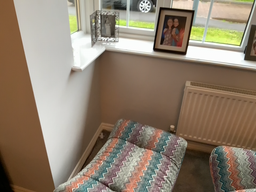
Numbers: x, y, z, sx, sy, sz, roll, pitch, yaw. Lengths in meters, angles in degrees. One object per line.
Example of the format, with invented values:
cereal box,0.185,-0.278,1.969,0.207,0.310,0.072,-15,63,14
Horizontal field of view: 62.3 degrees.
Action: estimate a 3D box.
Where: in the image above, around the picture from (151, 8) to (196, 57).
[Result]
picture,0.310,-0.430,1.460,0.240,0.280,0.180,11,16,12
